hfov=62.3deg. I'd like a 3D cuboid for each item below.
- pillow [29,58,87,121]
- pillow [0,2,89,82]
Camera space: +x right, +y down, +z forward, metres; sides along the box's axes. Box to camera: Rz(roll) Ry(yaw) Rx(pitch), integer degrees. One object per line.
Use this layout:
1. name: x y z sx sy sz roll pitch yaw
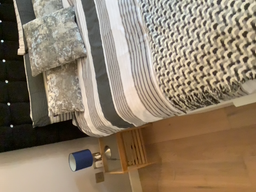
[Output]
1. pillow: -0.540 -0.060 1.700 0.120 0.290 0.420 -19 104 24
2. pillow: -0.620 -0.450 1.670 0.160 0.490 0.530 -30 104 23
